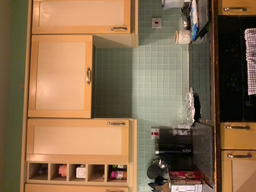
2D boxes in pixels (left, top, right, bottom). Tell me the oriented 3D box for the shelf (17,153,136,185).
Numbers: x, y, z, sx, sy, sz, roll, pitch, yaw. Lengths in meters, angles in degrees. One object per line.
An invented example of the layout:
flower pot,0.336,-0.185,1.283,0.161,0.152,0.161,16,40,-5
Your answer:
shelf,-0.350,0.540,1.600,0.310,0.820,0.140,58,-148,-84

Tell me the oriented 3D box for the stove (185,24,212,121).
stove,0.480,-0.120,1.490,0.510,0.030,0.570,58,-148,-84
